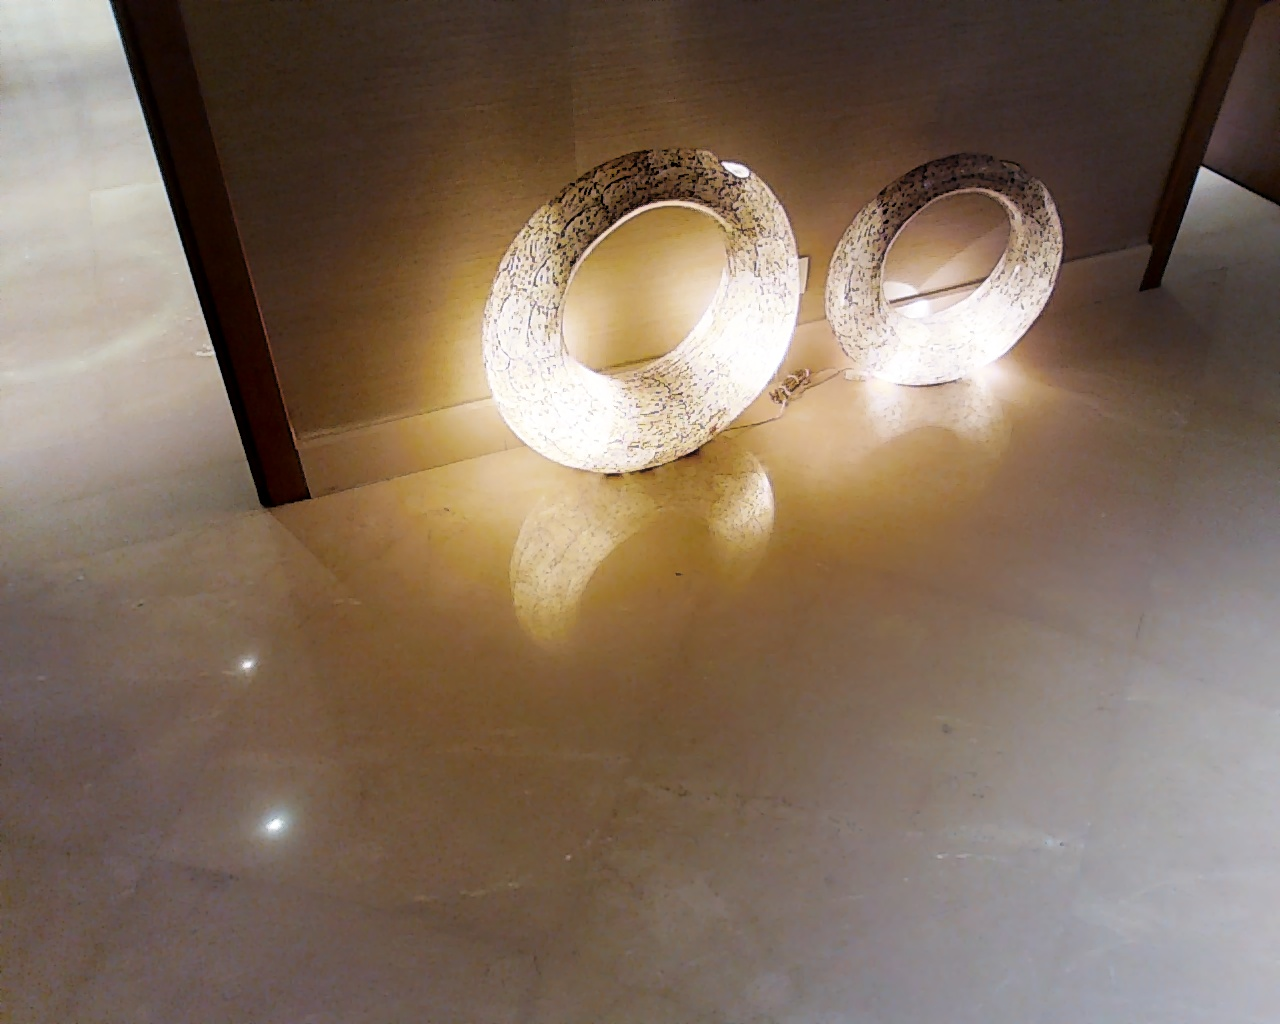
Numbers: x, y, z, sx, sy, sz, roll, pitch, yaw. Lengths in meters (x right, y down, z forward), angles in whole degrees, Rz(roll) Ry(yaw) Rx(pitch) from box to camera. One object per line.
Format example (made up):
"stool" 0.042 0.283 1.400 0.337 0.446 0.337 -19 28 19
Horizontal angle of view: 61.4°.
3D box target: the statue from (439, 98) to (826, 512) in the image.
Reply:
"statue" -0.010 -0.450 2.390 0.730 0.740 0.250 -16 44 -17

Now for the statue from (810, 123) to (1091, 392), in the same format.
"statue" 0.750 -0.630 2.700 0.550 0.570 0.200 -9 43 -10
